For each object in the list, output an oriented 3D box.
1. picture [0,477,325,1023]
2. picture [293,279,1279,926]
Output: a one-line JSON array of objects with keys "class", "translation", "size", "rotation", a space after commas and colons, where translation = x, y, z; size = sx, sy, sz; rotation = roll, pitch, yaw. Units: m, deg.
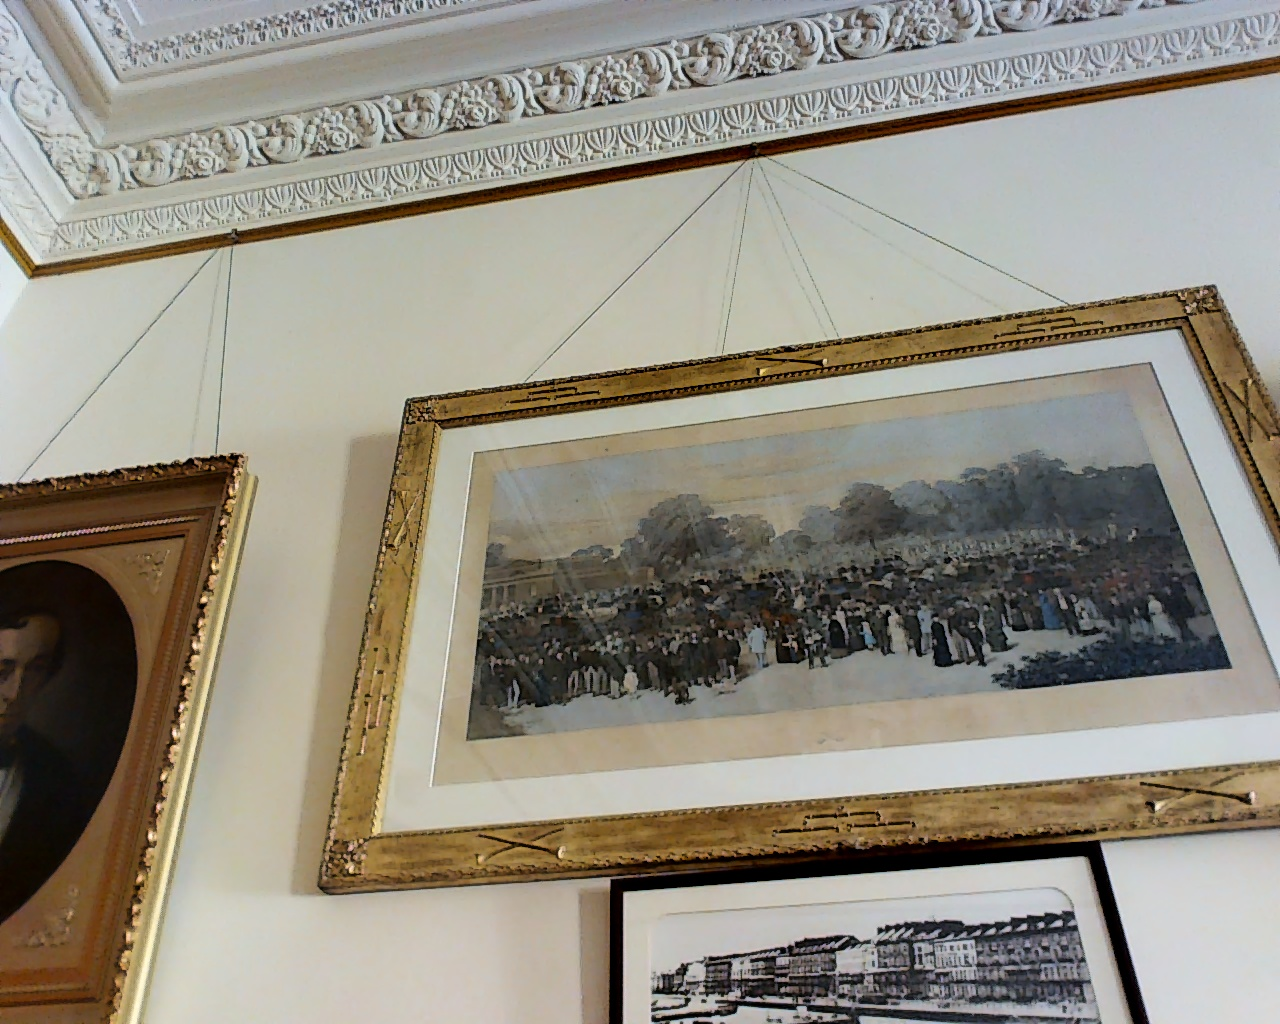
[{"class": "picture", "translation": [-1.020, 0.350, 1.670], "size": [0.780, 0.950, 0.120], "rotation": [-2, -42, 15]}, {"class": "picture", "translation": [0.300, 0.090, 1.610], "size": [1.499, 0.910, 0.100], "rotation": [-8, -43, 9]}]
